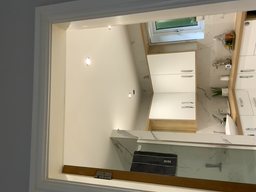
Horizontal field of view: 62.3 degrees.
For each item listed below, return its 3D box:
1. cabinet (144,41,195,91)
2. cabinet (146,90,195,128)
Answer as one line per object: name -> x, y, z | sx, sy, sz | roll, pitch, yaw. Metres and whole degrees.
cabinet -> 0.710, -0.460, 3.480 | 0.220, 0.750, 0.800 | -73, -25, -44
cabinet -> 0.720, 0.200, 3.520 | 0.630, 0.740, 0.230 | -73, -24, -44
